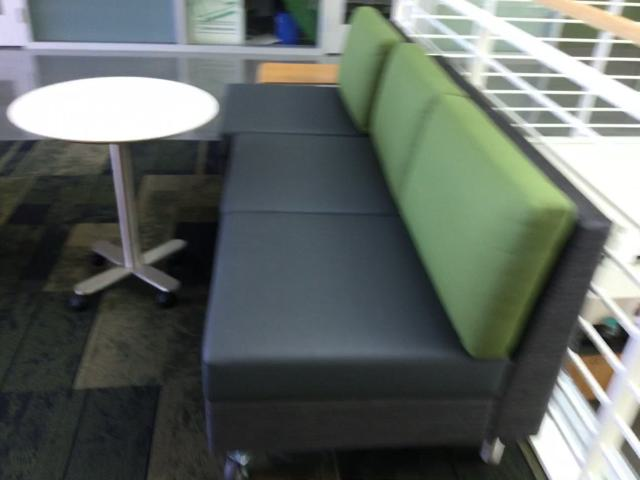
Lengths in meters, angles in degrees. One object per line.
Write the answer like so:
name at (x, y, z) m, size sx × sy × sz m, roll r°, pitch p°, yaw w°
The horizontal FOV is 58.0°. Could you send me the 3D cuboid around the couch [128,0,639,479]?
couch at (-0.010, -0.360, 2.270) m, size 0.950 × 0.880 × 2.510 m, roll 3°, pitch 31°, yaw -8°
